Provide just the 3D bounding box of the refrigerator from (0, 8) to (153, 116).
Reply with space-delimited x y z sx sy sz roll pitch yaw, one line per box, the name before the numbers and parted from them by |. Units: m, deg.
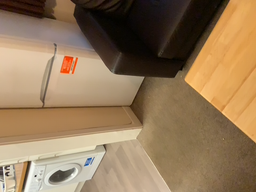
refrigerator | -0.700 -0.260 1.690 0.570 1.720 0.560 51 129 39
